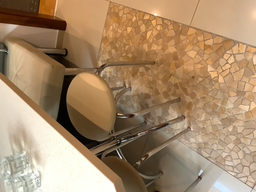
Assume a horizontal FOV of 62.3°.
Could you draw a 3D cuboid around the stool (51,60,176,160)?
[{"bbox_3d":[-0.060,0.020,1.110,0.330,0.520,0.310,30,115,31],"label":"stool"}]
